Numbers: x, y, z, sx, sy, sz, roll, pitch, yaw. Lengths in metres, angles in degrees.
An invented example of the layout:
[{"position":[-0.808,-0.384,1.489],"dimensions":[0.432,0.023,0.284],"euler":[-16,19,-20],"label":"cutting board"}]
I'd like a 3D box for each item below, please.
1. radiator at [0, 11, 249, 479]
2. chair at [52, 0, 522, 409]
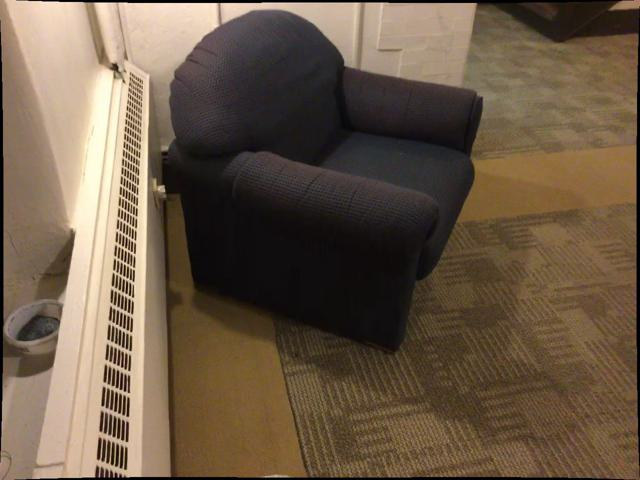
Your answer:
[{"position":[-0.230,0.781,0.650],"dimensions":[0.440,0.740,4.391],"euler":[-9,39,-12],"label":"radiator"},{"position":[0.010,-0.290,2.010],"dimensions":[1.039,0.840,1.170],"euler":[14,40,17],"label":"chair"}]
